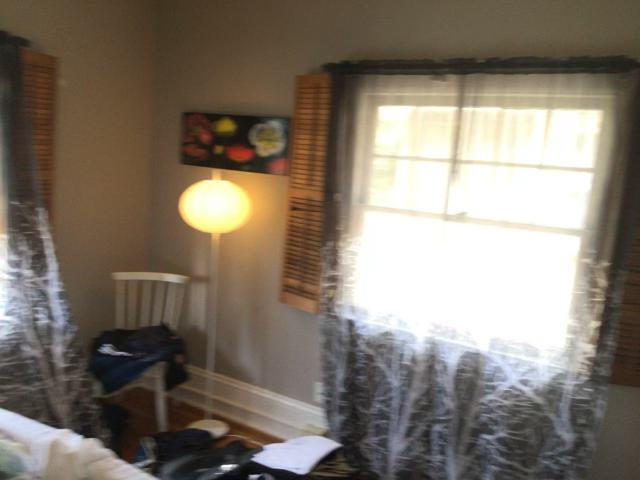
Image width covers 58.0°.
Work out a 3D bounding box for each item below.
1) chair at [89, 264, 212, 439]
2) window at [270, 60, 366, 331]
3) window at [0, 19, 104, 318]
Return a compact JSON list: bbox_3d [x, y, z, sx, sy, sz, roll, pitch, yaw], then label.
[{"bbox_3d":[-0.950,0.610,3.290,0.520,0.840,0.430,5,8,4],"label":"chair"},{"bbox_3d":[-0.020,-0.220,2.900,0.370,1.290,0.140,9,9,31],"label":"window"},{"bbox_3d":[-1.680,-0.280,2.280,0.300,1.280,1.700,9,9,31],"label":"window"}]
